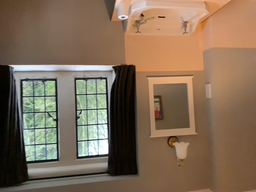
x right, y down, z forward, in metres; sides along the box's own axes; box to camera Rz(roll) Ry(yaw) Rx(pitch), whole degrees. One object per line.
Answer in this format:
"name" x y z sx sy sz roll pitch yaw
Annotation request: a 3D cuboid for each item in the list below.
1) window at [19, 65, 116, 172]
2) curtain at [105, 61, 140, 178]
"window" -0.630 0.210 2.290 0.950 1.070 0.110 -2 179 -14
"curtain" -0.060 0.220 2.120 0.300 1.140 0.070 -2 179 -12
